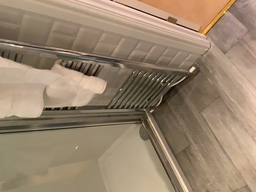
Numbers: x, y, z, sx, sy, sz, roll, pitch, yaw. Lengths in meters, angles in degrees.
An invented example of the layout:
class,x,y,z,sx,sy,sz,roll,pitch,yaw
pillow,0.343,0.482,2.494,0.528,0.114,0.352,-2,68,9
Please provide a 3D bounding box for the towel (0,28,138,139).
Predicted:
class,x,y,z,sx,sy,sz,roll,pitch,yaw
towel,-0.460,-0.020,0.760,0.410,0.950,0.180,-49,54,38
